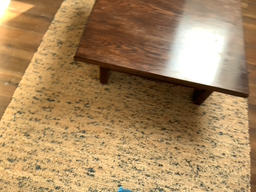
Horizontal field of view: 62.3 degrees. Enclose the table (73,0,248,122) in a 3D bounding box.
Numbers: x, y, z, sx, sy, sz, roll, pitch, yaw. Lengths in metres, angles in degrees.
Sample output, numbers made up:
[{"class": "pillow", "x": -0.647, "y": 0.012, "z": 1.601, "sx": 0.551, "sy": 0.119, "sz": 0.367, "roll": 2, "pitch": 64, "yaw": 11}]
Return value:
[{"class": "table", "x": 0.210, "y": -0.370, "z": 1.290, "sx": 0.800, "sy": 0.350, "sz": 0.820, "roll": 13, "pitch": 62, "yaw": 0}]
